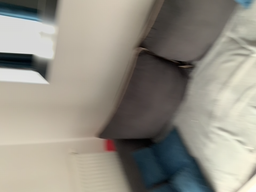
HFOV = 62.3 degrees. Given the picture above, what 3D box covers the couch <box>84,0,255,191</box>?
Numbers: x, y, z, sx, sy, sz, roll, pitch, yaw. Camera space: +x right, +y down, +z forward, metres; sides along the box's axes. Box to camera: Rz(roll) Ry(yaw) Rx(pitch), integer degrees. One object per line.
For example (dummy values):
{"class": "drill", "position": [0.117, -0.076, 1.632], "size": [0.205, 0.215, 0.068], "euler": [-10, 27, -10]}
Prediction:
{"class": "couch", "position": [0.550, -0.190, 1.230], "size": [1.230, 0.900, 2.340], "euler": [60, 139, 45]}
